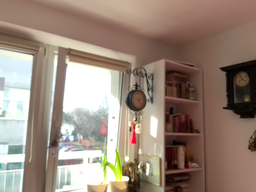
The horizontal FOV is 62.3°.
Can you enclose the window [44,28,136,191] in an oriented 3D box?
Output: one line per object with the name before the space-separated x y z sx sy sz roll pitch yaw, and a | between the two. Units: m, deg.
window | -0.330 0.270 2.050 0.800 1.690 0.170 6 -9 -29
